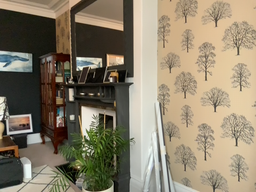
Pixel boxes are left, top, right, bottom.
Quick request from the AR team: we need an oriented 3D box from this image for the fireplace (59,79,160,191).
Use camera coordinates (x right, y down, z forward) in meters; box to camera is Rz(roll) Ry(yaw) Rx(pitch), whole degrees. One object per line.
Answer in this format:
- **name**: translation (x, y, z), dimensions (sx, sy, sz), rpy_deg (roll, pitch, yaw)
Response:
- **fireplace**: translation (-0.380, 0.420, 3.170), dimensions (0.670, 1.310, 1.700), rpy_deg (-3, 4, -38)
